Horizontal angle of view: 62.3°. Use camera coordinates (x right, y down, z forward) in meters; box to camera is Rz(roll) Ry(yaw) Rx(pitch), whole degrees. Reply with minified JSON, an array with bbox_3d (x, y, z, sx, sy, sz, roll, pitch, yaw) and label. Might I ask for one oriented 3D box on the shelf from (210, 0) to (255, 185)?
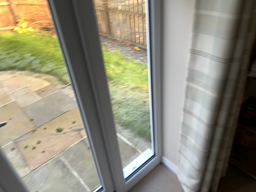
[{"bbox_3d":[0.880,-0.080,1.320,0.350,1.430,0.370,-30,42,-30],"label":"shelf"}]
